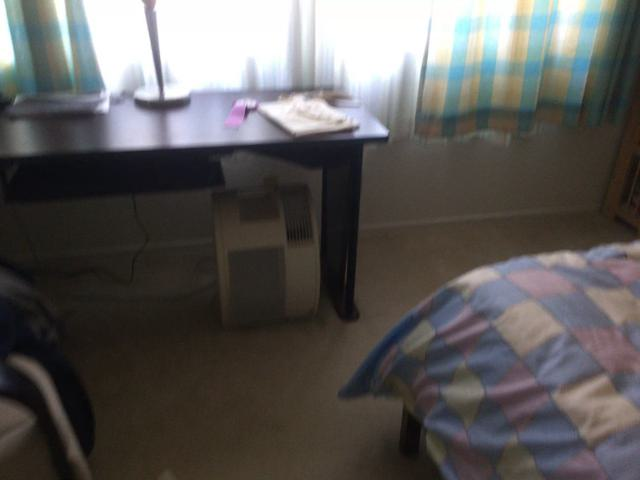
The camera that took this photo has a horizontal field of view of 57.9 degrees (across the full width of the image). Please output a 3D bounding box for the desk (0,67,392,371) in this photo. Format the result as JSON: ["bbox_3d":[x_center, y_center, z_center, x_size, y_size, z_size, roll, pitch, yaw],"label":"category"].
[{"bbox_3d":[-0.660,-0.120,1.970,1.610,0.730,0.700,-5,29,-11],"label":"desk"}]

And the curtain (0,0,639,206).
[{"bbox_3d":[-0.020,-0.950,2.000,2.930,1.480,0.350,-5,29,-11],"label":"curtain"}]
